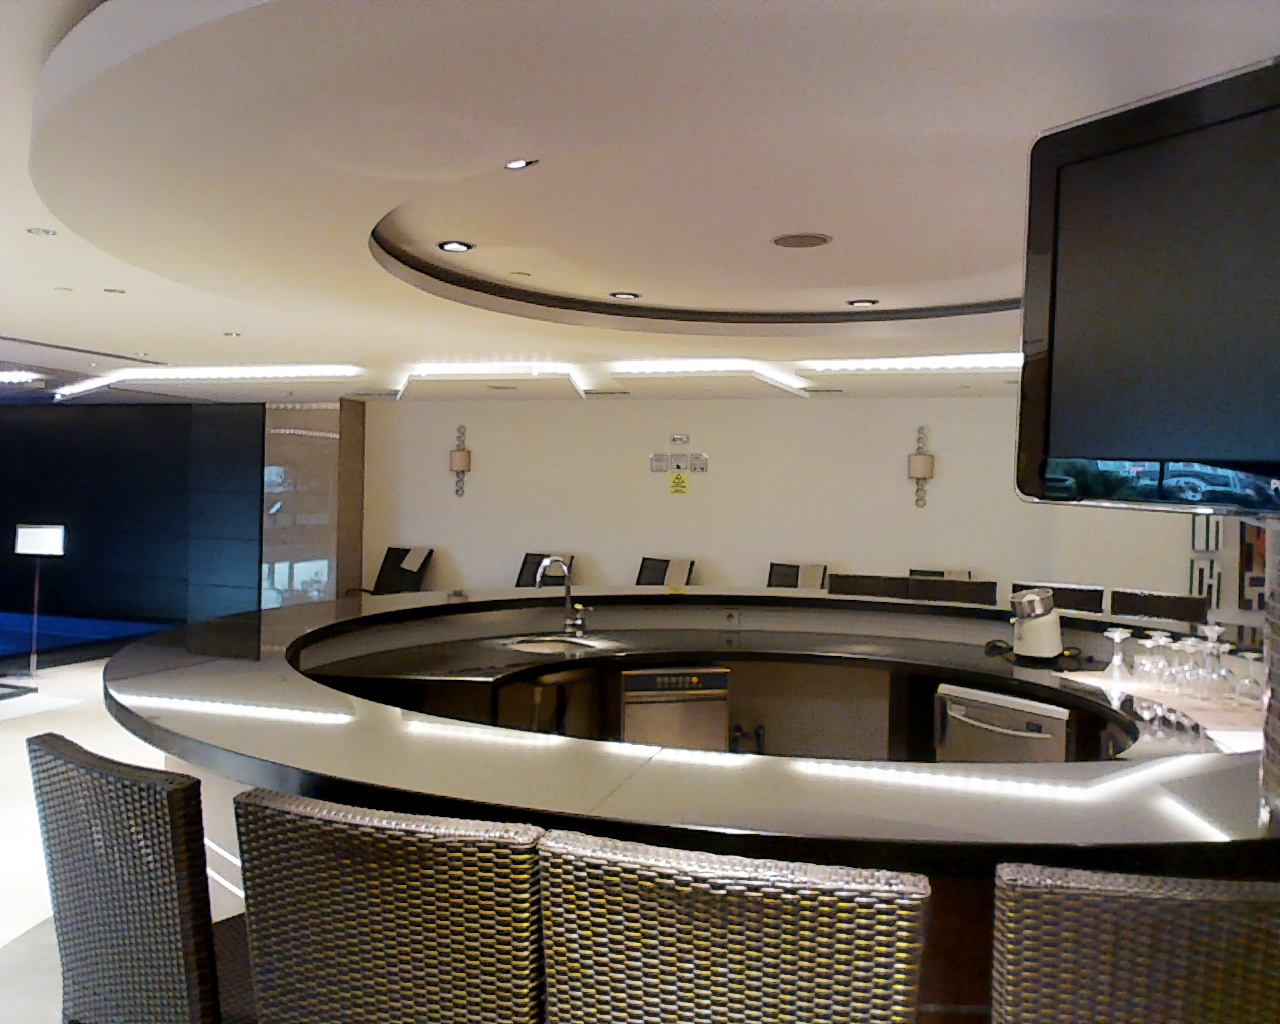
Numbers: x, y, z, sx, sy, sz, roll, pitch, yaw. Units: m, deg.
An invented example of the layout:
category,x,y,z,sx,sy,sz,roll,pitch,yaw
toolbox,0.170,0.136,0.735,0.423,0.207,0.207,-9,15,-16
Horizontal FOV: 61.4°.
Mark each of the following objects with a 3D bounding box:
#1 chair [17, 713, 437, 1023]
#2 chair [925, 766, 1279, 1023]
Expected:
category,x,y,z,sx,sy,sz,roll,pitch,yaw
chair,-0.680,0.970,1.790,0.460,1.150,0.460,1,0,32
chair,0.650,0.990,1.390,0.520,1.170,0.520,1,0,11
